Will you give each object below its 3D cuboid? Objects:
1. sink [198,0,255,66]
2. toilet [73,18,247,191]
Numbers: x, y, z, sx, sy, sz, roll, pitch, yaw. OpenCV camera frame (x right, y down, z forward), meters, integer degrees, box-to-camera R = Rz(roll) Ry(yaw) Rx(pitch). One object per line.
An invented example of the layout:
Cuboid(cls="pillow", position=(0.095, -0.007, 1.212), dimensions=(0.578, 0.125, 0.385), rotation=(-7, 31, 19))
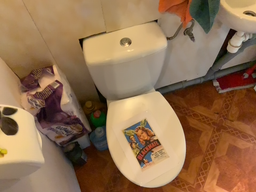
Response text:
Cuboid(cls="sink", position=(0.570, -0.340, 0.920), dimensions=(0.400, 0.200, 0.260), rotation=(-15, 61, -6))
Cuboid(cls="toilet", position=(0.070, 0.170, 1.080), dimensions=(0.410, 0.740, 0.680), rotation=(-15, 61, -6))
